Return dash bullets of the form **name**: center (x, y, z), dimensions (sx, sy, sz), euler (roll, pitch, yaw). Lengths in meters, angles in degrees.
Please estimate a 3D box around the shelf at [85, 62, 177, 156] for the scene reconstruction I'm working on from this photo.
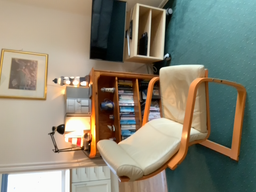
- **shelf**: center (0.010, 0.160, 2.480), dimensions (0.330, 0.950, 0.960), euler (142, 127, -62)

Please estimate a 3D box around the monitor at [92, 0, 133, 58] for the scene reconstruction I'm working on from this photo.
- **monitor**: center (-0.180, -0.810, 2.530), dimensions (0.060, 0.460, 0.650), euler (-169, 82, -68)

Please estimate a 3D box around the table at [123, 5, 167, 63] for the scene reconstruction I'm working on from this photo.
- **table**: center (0.210, -0.780, 2.770), dimensions (0.330, 0.430, 0.620), euler (-169, 82, -68)
